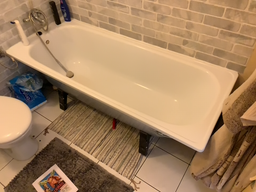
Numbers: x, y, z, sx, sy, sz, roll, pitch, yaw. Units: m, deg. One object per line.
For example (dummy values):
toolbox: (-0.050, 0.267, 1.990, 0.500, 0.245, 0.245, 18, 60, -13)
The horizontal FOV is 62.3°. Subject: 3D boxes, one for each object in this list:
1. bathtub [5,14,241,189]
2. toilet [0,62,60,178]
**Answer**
bathtub: (-0.110, -0.080, 1.800, 1.690, 0.560, 0.680, 25, 54, 23)
toilet: (-0.950, 0.120, 1.530, 0.650, 0.750, 0.360, 25, 54, 23)
